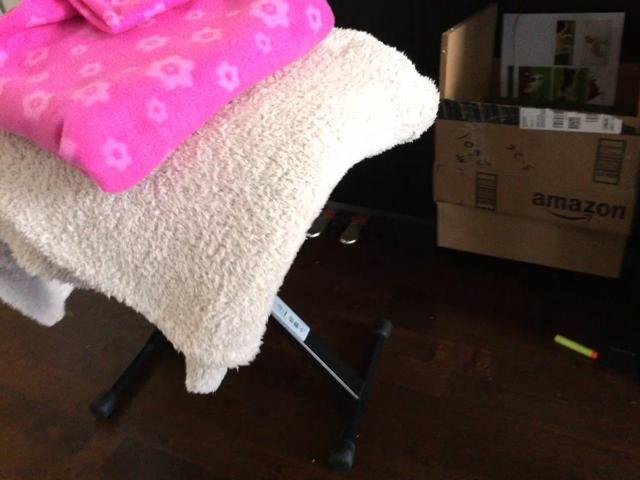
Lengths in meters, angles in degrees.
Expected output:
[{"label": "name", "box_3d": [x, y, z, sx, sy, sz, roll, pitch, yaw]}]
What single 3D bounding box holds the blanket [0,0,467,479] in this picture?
[{"label": "blanket", "box_3d": [-0.190, -0.050, 0.820, 0.640, 0.640, 0.510, 12, 39, 25]}]
